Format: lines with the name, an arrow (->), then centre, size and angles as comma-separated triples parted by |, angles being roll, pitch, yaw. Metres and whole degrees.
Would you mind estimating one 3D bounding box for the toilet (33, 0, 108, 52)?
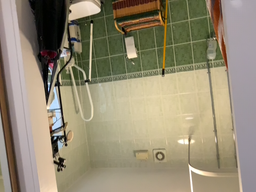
toilet -> -0.610, -0.930, 2.240 | 0.630, 0.780, 0.360 | -5, -178, 17
